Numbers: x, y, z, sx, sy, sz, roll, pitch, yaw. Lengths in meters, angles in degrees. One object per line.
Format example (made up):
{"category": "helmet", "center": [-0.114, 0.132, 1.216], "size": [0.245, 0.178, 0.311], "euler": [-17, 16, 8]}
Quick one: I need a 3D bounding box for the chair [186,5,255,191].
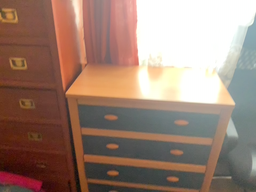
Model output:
{"category": "chair", "center": [0.790, 0.150, 1.230], "size": [0.590, 1.170, 0.580], "euler": [1, 30, -1]}
